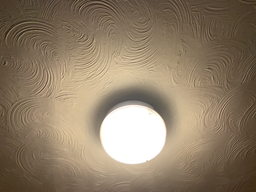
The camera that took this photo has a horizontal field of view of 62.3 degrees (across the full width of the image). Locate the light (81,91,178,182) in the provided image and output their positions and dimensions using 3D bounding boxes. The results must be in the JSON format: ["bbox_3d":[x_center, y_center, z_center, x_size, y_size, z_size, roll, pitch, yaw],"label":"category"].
[{"bbox_3d":[0.010,0.140,0.690,0.210,0.080,0.240,-27,-63,11],"label":"light"}]
